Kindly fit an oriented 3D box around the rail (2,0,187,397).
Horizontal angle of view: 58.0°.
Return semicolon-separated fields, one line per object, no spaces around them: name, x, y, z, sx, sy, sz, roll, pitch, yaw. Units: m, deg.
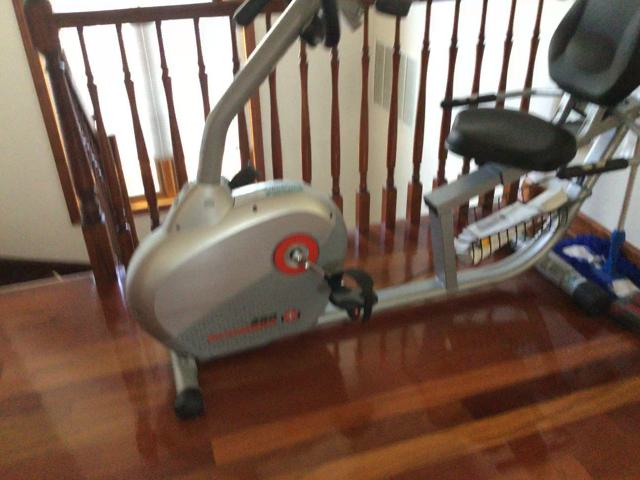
rail;-0.820;-0.300;2.270;0.270;1.500;0.960;-10;30;-14
